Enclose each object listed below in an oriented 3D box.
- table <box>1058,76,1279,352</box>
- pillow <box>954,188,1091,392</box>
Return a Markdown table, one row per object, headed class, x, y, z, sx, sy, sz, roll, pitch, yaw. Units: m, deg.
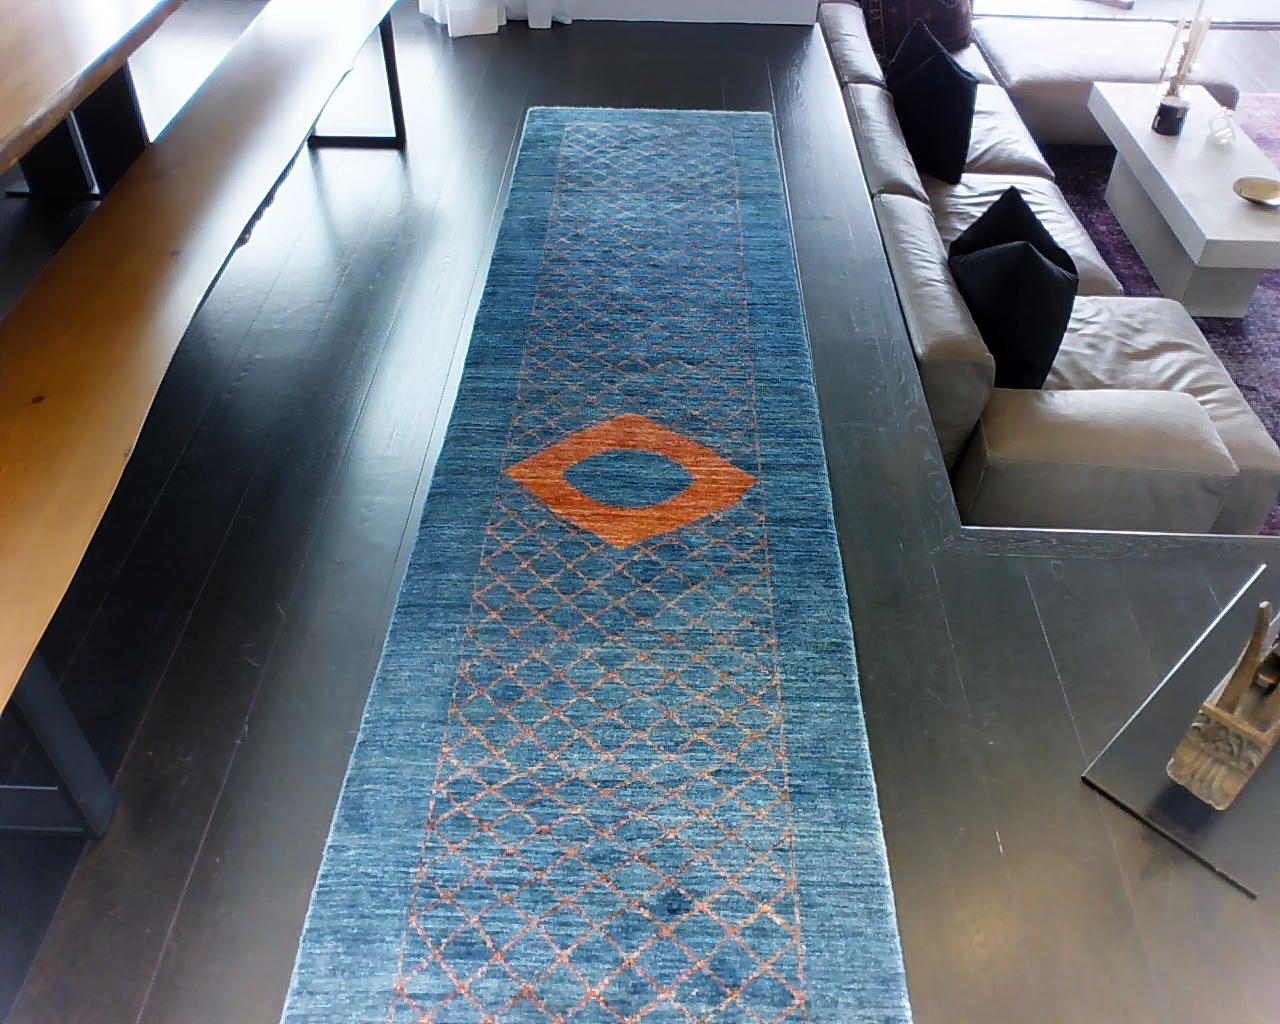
| class | x | y | z | sx | sy | sz | roll | pitch | yaw |
| --- | --- | --- | --- | --- | --- | --- | --- | --- | --- |
| table | 2.180 | -1.240 | 4.300 | 0.510 | 0.460 | 1.430 | 1 | 42 | 1 |
| pillow | 1.090 | -0.650 | 3.100 | 0.290 | 0.480 | 0.460 | -4 | 20 | 11 |
